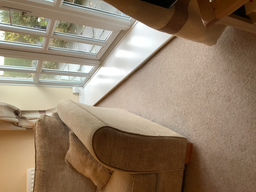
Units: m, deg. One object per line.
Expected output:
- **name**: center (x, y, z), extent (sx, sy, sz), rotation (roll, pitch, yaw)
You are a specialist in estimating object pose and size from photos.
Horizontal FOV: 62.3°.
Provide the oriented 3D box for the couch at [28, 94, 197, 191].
- **couch**: center (-0.240, 0.650, 1.600), extent (1.020, 0.830, 1.170), rotation (16, 102, 59)
